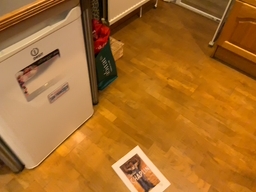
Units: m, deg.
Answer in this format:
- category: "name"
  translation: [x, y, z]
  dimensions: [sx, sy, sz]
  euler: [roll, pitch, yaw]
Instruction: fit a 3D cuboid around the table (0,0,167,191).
- category: "table"
  translation: [-0.550, -0.170, 1.120]
  dimensions: [0.620, 0.920, 1.720]
  euler: [35, 57, 20]
